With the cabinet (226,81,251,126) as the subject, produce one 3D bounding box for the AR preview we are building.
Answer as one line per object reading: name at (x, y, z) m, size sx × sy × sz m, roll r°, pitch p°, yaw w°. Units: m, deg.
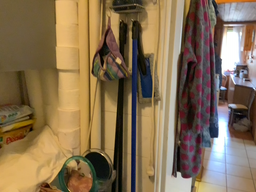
cabinet at (2.530, 0.140, 4.910) m, size 0.360 × 0.860 × 0.780 m, roll 7°, pitch 13°, yaw 22°
